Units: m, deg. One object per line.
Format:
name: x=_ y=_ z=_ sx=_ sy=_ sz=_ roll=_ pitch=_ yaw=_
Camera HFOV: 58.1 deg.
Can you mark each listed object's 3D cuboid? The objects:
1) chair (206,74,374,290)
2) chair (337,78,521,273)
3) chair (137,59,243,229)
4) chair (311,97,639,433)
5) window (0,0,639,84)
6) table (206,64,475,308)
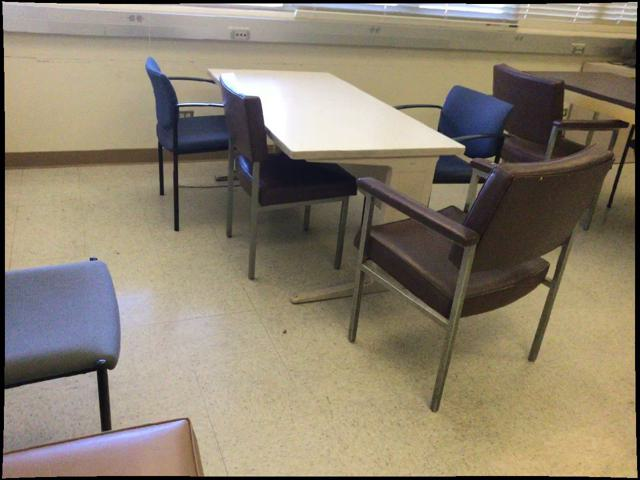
chair: x=-0.180 y=-0.281 z=2.600 sx=0.569 sy=0.792 sz=0.530 roll=-5 pitch=29 yaw=-20
chair: x=0.499 y=-0.341 z=2.880 sx=0.589 sy=0.792 sz=0.530 roll=-5 pitch=29 yaw=-21
chair: x=-0.668 y=-0.501 z=2.900 sx=0.409 sy=0.671 sz=0.580 roll=-5 pitch=29 yaw=-20
chair: x=0.479 y=0.020 z=1.990 sx=0.719 sy=0.832 sz=0.630 roll=-13 pitch=33 yaw=-32
window: x=0.858 y=-1.815 z=3.780 sx=5.318 sy=1.433 sz=0.300 roll=-5 pitch=29 yaw=-21
table: x=-0.040 y=-0.391 z=2.950 sx=0.808 sy=0.651 sz=1.500 roll=-5 pitch=29 yaw=-20
